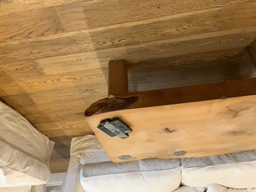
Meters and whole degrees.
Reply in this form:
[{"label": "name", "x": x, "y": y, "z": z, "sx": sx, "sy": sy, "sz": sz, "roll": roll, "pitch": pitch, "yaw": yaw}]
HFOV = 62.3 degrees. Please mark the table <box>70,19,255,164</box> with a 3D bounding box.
[{"label": "table", "x": 0.390, "y": 0.040, "z": 1.340, "sx": 1.220, "sy": 0.430, "sz": 0.790, "roll": -7, "pitch": 146, "yaw": 5}]
